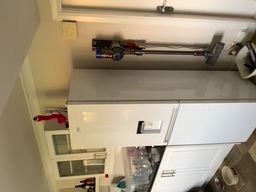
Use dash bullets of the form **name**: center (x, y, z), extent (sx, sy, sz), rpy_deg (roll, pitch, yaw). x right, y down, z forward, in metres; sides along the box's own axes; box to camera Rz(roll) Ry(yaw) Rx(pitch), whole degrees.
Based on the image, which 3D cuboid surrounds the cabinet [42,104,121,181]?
- **cabinet**: center (-0.560, 0.610, 2.660), extent (0.310, 0.800, 1.090), rpy_deg (-103, 17, -49)
